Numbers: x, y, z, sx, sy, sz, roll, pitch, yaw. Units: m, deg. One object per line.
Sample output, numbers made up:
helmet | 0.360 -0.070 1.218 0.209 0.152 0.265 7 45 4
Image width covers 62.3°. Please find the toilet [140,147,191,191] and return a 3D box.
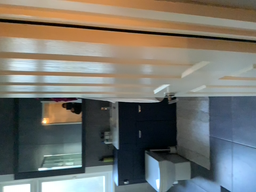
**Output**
toilet | 0.460 0.910 2.740 0.540 0.460 0.360 176 94 -74
